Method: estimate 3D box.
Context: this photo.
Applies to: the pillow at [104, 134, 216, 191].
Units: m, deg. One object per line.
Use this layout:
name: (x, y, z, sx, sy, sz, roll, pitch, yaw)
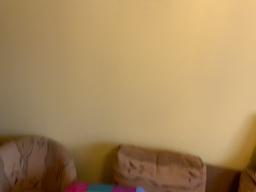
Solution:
pillow: (0.180, 0.520, 1.320, 0.580, 0.350, 0.280, 11, 20, 11)
